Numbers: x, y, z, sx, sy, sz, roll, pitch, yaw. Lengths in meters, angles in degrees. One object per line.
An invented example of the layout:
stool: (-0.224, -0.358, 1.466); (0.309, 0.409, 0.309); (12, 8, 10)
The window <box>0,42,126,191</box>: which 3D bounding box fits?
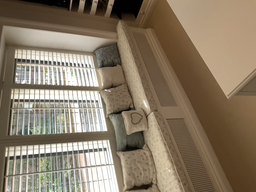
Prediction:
window: (-0.700, 0.450, 2.090); (0.040, 1.190, 2.790); (118, 144, -46)
